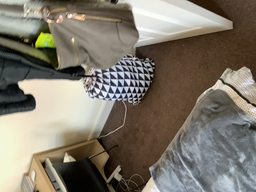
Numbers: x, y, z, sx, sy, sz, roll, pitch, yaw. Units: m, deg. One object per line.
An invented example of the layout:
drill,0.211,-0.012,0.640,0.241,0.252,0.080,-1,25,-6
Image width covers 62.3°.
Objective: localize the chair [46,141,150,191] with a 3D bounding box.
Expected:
chair,-0.270,0.800,1.880,0.380,0.750,0.490,44,123,31
